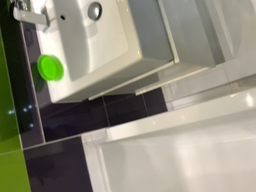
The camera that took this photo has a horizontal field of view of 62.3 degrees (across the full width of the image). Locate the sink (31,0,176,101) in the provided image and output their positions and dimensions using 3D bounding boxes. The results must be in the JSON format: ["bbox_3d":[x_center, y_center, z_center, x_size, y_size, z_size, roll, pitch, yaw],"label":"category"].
[{"bbox_3d":[-0.140,-0.330,0.800,0.450,0.200,0.590,-19,82,39],"label":"sink"}]
